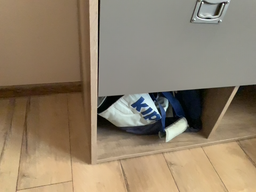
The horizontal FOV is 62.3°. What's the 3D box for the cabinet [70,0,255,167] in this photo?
[{"bbox_3d":[0.300,-0.220,0.700,0.930,0.750,0.390,-5,42,-15],"label":"cabinet"}]
